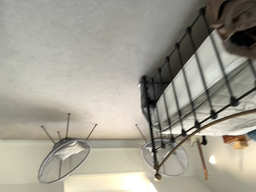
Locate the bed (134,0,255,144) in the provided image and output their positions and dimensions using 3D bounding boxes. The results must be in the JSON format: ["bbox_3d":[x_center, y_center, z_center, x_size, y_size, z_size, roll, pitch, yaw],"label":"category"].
[{"bbox_3d":[1.300,-0.150,1.900,2.010,0.720,1.630,4,151,-18],"label":"bed"}]
